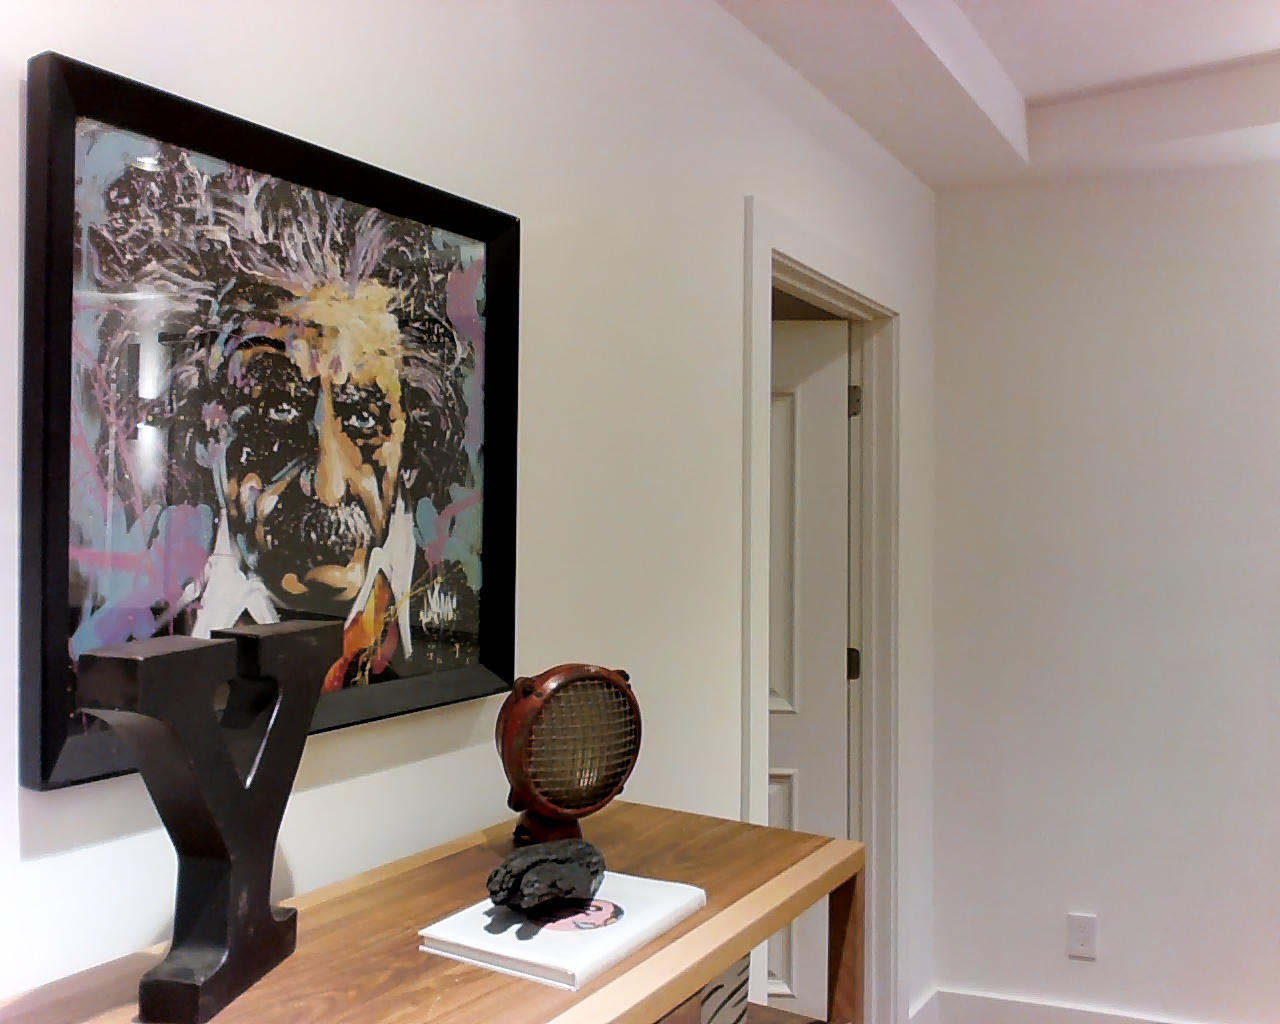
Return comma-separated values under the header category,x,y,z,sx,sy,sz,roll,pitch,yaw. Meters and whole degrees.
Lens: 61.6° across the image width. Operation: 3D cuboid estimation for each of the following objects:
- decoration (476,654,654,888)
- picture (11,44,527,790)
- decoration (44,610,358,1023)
category,x,y,z,sx,sy,sz,roll,pitch,yaw
decoration,-0.090,0.310,1.340,0.130,0.240,0.190,0,-1,33
picture,-0.370,-0.080,1.260,0.060,0.670,0.670,0,-1,33
decoration,-0.370,0.240,0.960,0.090,0.280,0.330,0,-1,11
